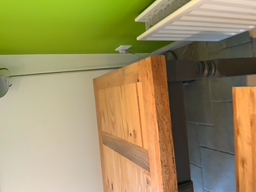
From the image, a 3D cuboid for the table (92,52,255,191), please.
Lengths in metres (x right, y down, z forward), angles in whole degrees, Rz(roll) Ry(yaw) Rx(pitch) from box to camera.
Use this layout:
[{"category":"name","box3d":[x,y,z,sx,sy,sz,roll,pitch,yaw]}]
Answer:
[{"category":"table","box3d":[0.330,0.500,1.200,0.730,0.760,1.350,178,86,-65]}]
